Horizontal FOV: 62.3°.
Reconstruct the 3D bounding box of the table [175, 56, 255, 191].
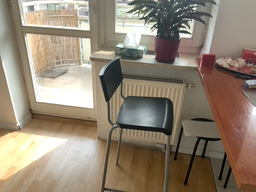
[{"bbox_3d":[0.680,0.410,1.280,0.590,0.930,1.160,7,29,6],"label":"table"}]
